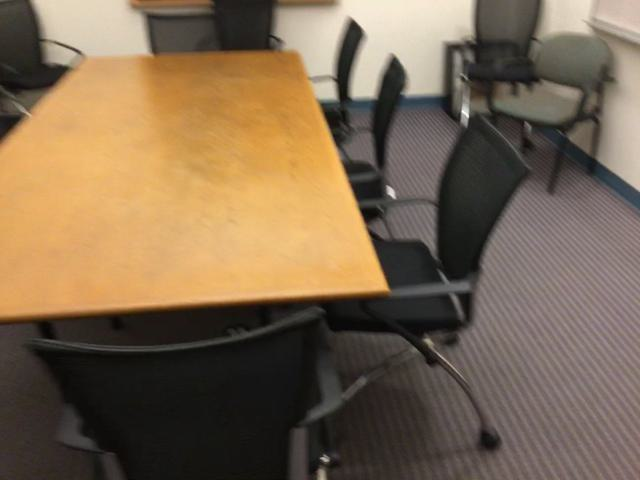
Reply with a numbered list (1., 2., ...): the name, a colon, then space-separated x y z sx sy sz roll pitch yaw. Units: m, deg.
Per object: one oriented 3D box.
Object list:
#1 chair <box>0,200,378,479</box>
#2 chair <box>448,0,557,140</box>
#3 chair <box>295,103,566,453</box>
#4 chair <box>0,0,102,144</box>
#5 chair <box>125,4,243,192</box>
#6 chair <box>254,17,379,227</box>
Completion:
1. chair: -0.270 0.480 1.280 0.630 0.910 0.630 -4 32 -6
2. chair: 1.180 -1.220 3.840 0.520 0.900 0.590 8 33 12
3. chair: 0.250 0.110 1.800 0.590 0.890 0.550 -4 32 -6
4. chair: -1.940 -1.200 3.770 0.630 0.910 0.550 16 35 23
5. chair: -0.720 -0.790 3.270 0.500 0.920 0.420 -4 32 -6
6. chair: -0.040 -0.620 3.040 0.540 0.910 0.570 -4 32 -6
